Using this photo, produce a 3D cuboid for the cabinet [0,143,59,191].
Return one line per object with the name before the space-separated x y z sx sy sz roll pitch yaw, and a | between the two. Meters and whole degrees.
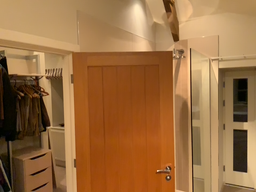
cabinet | -1.440 1.180 3.100 0.540 0.780 0.570 0 4 30
